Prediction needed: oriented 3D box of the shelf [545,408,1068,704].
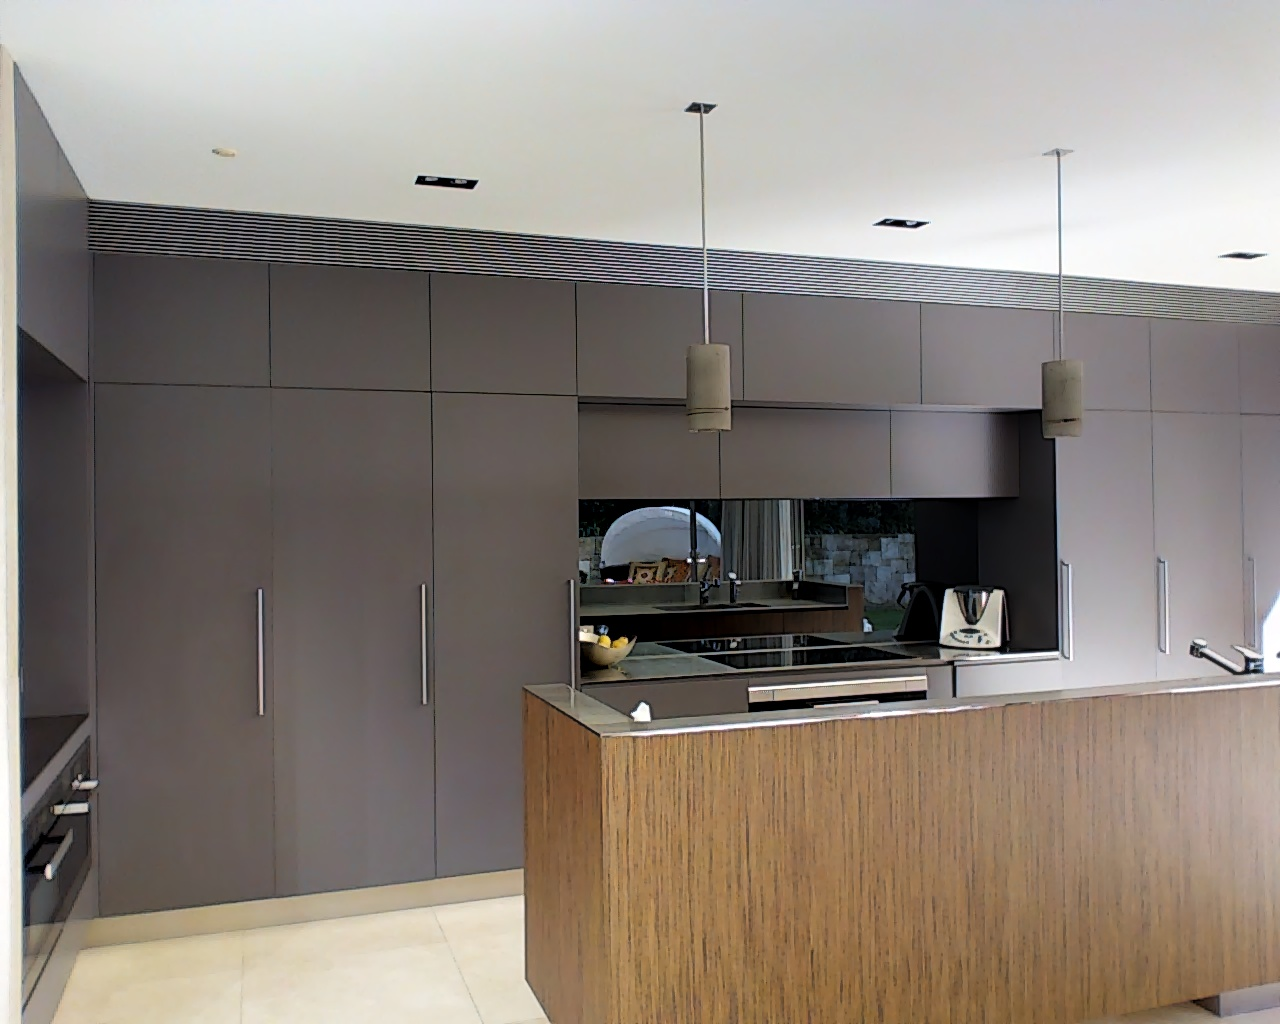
[{"bbox_3d":[0.810,0.160,5.040,2.399,1.200,0.630,-1,0,-20],"label":"shelf"}]
